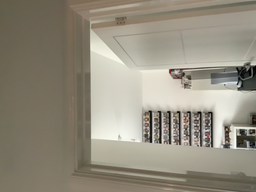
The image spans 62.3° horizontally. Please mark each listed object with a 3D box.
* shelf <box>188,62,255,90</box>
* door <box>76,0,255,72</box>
[{"bbox_3d":[1.870,-0.330,3.840,0.790,1.470,0.430,0,-90,-72],"label":"shelf"},{"bbox_3d":[0.860,-0.380,1.400,0.880,2.200,0.120,31,-119,-70],"label":"door"}]
